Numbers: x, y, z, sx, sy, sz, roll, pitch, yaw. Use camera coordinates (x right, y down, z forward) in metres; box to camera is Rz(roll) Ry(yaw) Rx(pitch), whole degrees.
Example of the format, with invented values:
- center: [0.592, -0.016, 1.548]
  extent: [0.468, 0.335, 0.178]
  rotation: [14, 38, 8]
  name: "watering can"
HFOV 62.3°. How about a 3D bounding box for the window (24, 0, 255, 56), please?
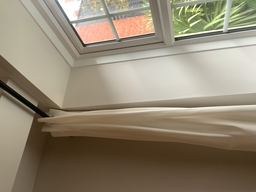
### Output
- center: [0.160, -0.580, 1.170]
  extent: [0.780, 1.490, 0.090]
  rotation: [61, -151, -59]
  name: "window"
